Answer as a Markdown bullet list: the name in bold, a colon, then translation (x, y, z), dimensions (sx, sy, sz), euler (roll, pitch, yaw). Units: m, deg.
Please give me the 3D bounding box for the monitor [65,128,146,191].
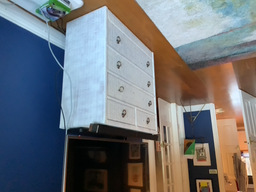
- **monitor**: translation (-0.090, 0.640, 1.630), dimensions (0.030, 0.680, 1.040), euler (-9, 162, 27)
